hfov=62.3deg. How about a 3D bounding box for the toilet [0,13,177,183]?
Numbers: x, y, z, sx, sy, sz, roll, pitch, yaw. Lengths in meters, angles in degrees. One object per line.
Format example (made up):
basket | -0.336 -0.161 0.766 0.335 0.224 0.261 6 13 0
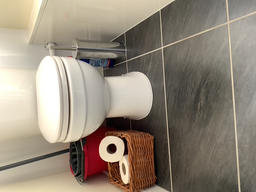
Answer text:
toilet | -0.330 0.010 0.900 0.670 0.770 0.420 -6 88 60
